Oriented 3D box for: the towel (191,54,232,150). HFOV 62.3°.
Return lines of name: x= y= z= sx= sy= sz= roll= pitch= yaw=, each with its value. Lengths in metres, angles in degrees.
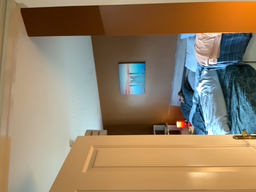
towel: x=1.080 y=0.080 z=2.880 sx=0.630 sy=0.140 sz=1.140 roll=87 pitch=-178 yaw=-61
